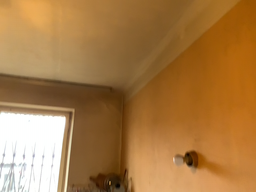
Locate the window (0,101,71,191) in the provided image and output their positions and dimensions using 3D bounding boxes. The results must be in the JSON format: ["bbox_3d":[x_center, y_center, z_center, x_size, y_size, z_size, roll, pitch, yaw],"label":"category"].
[{"bbox_3d":[-1.680,0.860,2.900,1.580,1.540,0.210,6,-17,-15],"label":"window"}]
